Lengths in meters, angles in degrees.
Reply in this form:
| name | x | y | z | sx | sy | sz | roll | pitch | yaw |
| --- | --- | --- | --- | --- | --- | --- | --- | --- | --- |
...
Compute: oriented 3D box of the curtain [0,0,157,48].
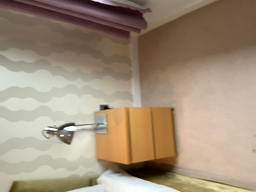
| name | x | y | z | sx | sy | sz | roll | pitch | yaw |
| --- | --- | --- | --- | --- | --- | --- | --- | --- | --- |
| curtain | -0.700 | -0.630 | 1.290 | 0.500 | 1.920 | 0.260 | -3 | 86 | 54 |
